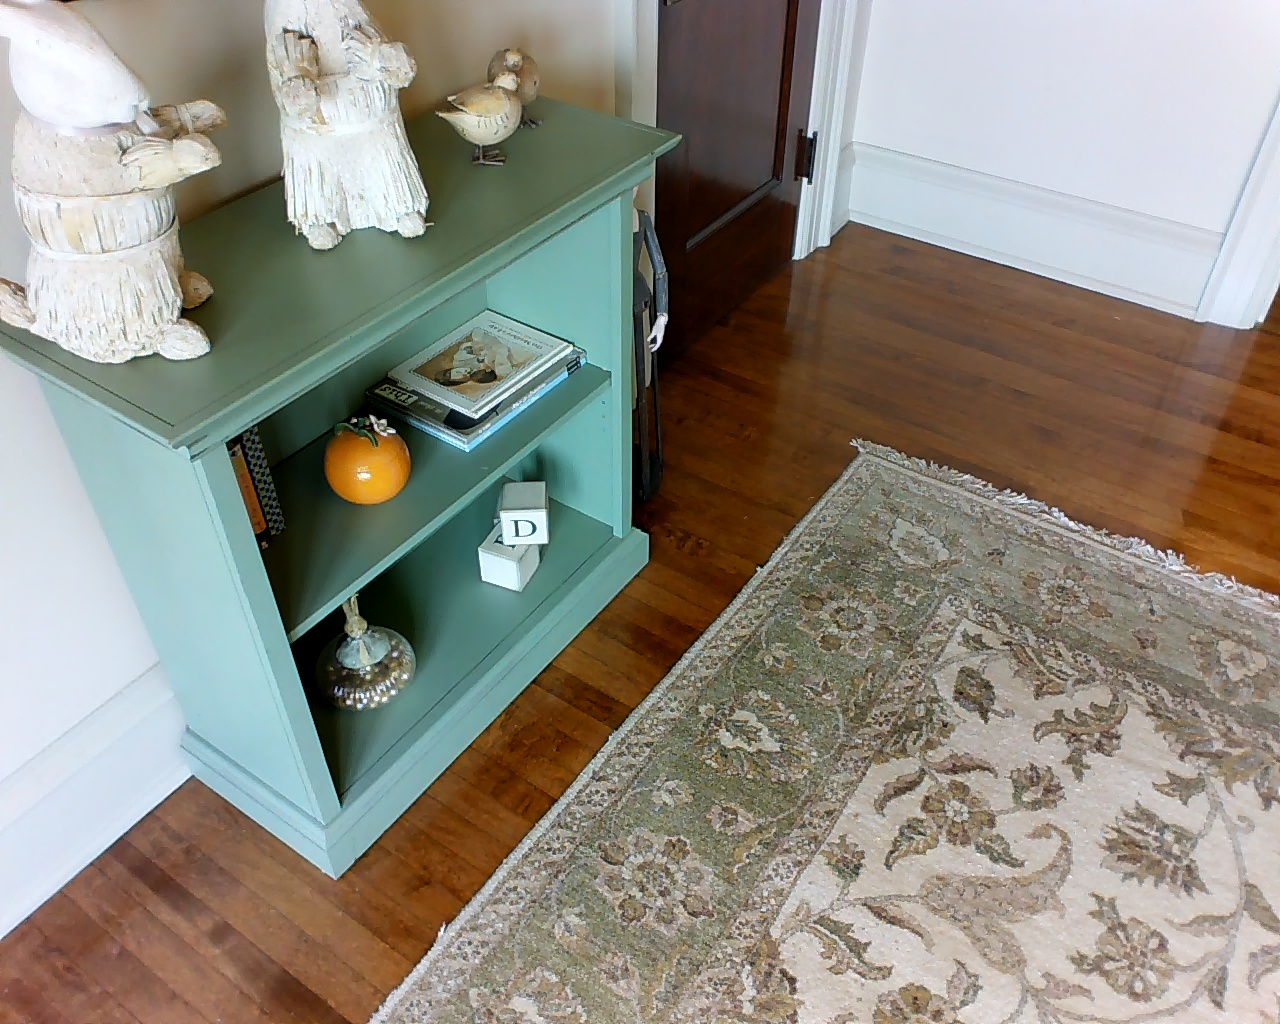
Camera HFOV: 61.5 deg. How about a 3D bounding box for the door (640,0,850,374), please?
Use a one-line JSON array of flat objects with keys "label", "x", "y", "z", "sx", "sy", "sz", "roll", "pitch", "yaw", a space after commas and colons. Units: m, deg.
[{"label": "door", "x": 0.280, "y": -1.400, "z": 2.290, "sx": 0.080, "sy": 2.160, "sz": 0.850, "roll": 25, "pitch": 48, "yaw": 24}]
